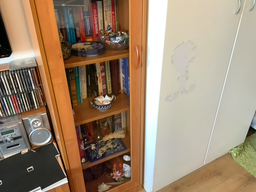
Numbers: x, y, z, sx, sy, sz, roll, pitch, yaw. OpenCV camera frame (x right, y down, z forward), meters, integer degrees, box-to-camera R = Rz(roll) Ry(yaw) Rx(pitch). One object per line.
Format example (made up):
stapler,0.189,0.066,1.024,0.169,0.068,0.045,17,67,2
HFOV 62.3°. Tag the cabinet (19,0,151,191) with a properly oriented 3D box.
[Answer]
cabinet,-0.240,-0.210,1.160,0.480,2.010,0.530,-16,34,-24
